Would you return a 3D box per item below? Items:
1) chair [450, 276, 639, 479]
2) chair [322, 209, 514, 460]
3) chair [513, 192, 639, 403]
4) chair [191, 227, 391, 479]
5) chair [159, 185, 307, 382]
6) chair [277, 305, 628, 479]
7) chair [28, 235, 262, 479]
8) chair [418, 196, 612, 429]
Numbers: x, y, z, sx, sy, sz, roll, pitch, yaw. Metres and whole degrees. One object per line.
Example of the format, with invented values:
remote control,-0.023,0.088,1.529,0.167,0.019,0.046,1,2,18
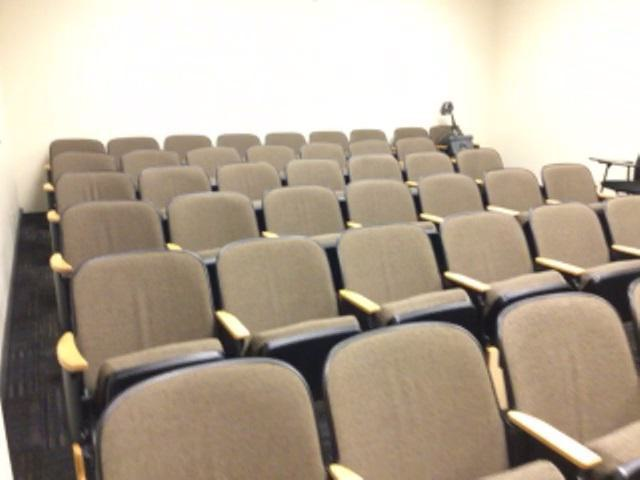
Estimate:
chair,0.790,0.590,1.680,0.590,0.760,0.550,-9,16,-24
chair,0.400,0.350,2.500,0.540,0.820,0.600,-9,16,-24
chair,1.340,0.240,2.820,0.540,0.830,0.490,-9,16,-24
chair,-0.120,0.420,2.290,0.570,0.780,0.570,-9,16,-24
chair,-0.450,0.190,3.010,0.580,0.840,0.470,-9,16,-24
chair,0.290,0.670,1.460,0.580,0.770,0.570,-9,16,-24
chair,-0.630,0.470,2.090,0.620,0.790,0.510,-11,17,-24
chair,0.860,0.280,2.660,0.570,0.830,0.580,-9,16,-24
